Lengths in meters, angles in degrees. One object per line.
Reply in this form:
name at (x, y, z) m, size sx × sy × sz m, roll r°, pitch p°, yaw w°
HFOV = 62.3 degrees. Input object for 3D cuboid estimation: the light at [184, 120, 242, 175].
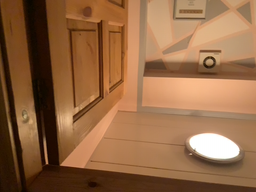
light at (0.450, 0.270, 1.170) m, size 0.240 × 0.270 × 0.080 m, roll 26°, pitch 109°, yaw 2°
